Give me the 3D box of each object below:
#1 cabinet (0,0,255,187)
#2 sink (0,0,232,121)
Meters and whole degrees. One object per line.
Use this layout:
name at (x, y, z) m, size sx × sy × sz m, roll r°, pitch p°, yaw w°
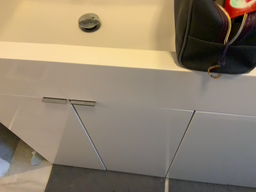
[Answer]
cabinet at (0.200, 0.010, 0.860) m, size 1.190 × 0.790 × 0.450 m, roll 4°, pitch 58°, yaw 6°
sink at (-0.120, -0.200, 0.570) m, size 0.650 × 0.160 × 0.450 m, roll 4°, pitch 58°, yaw 6°
